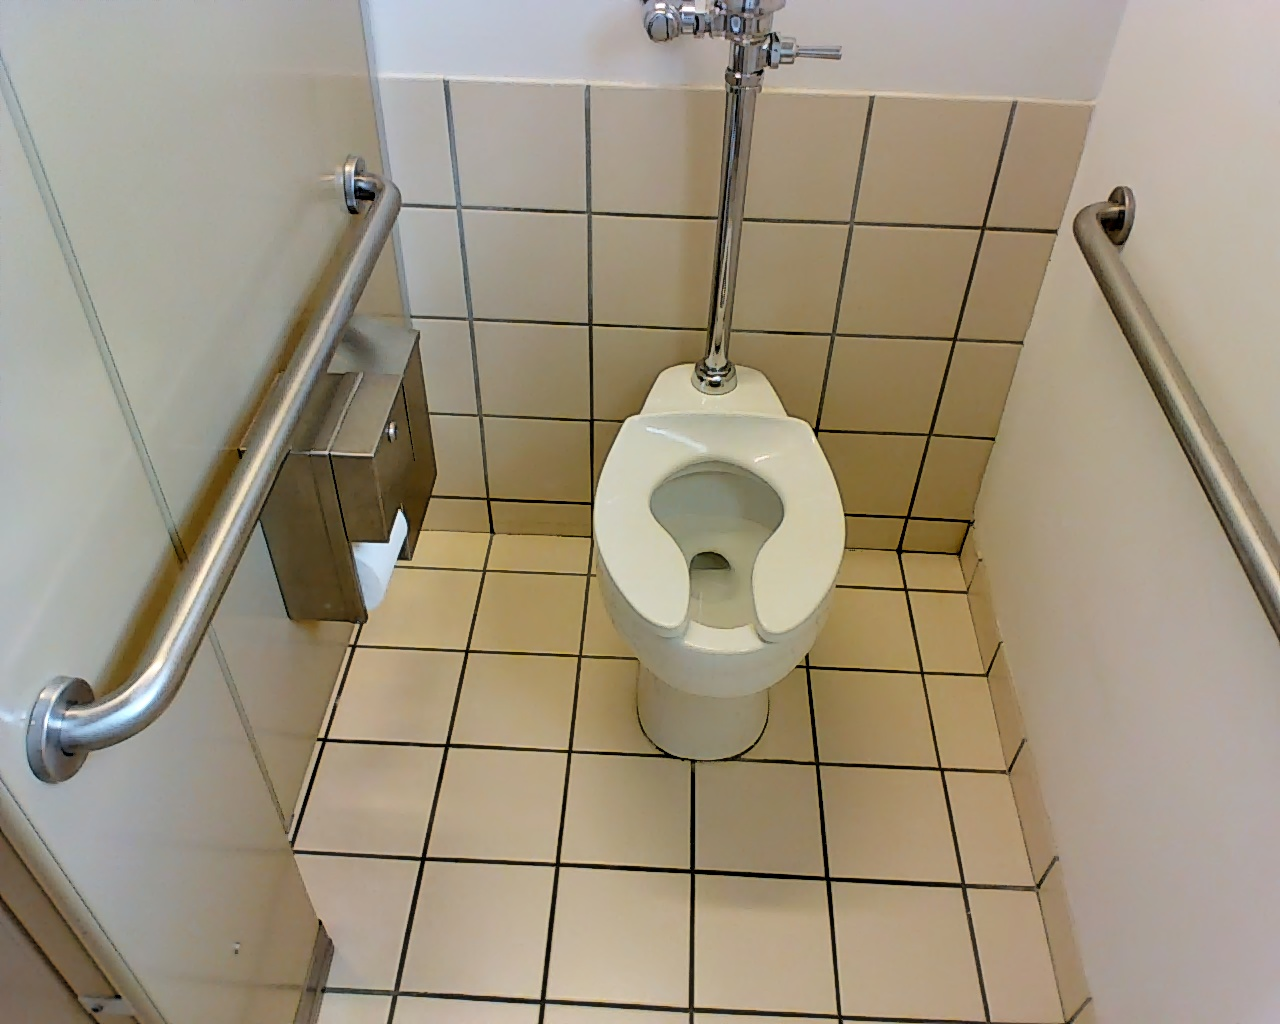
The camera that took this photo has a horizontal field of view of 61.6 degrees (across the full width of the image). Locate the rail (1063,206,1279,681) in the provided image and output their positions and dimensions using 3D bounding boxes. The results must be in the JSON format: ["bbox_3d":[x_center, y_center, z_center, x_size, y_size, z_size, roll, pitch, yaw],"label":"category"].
[{"bbox_3d":[0.590,-0.070,1.090,0.080,0.060,0.910,2,42,1],"label":"rail"}]

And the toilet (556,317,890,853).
[{"bbox_3d":[0.110,0.100,1.750,0.410,0.530,0.680,2,42,1],"label":"toilet"}]
